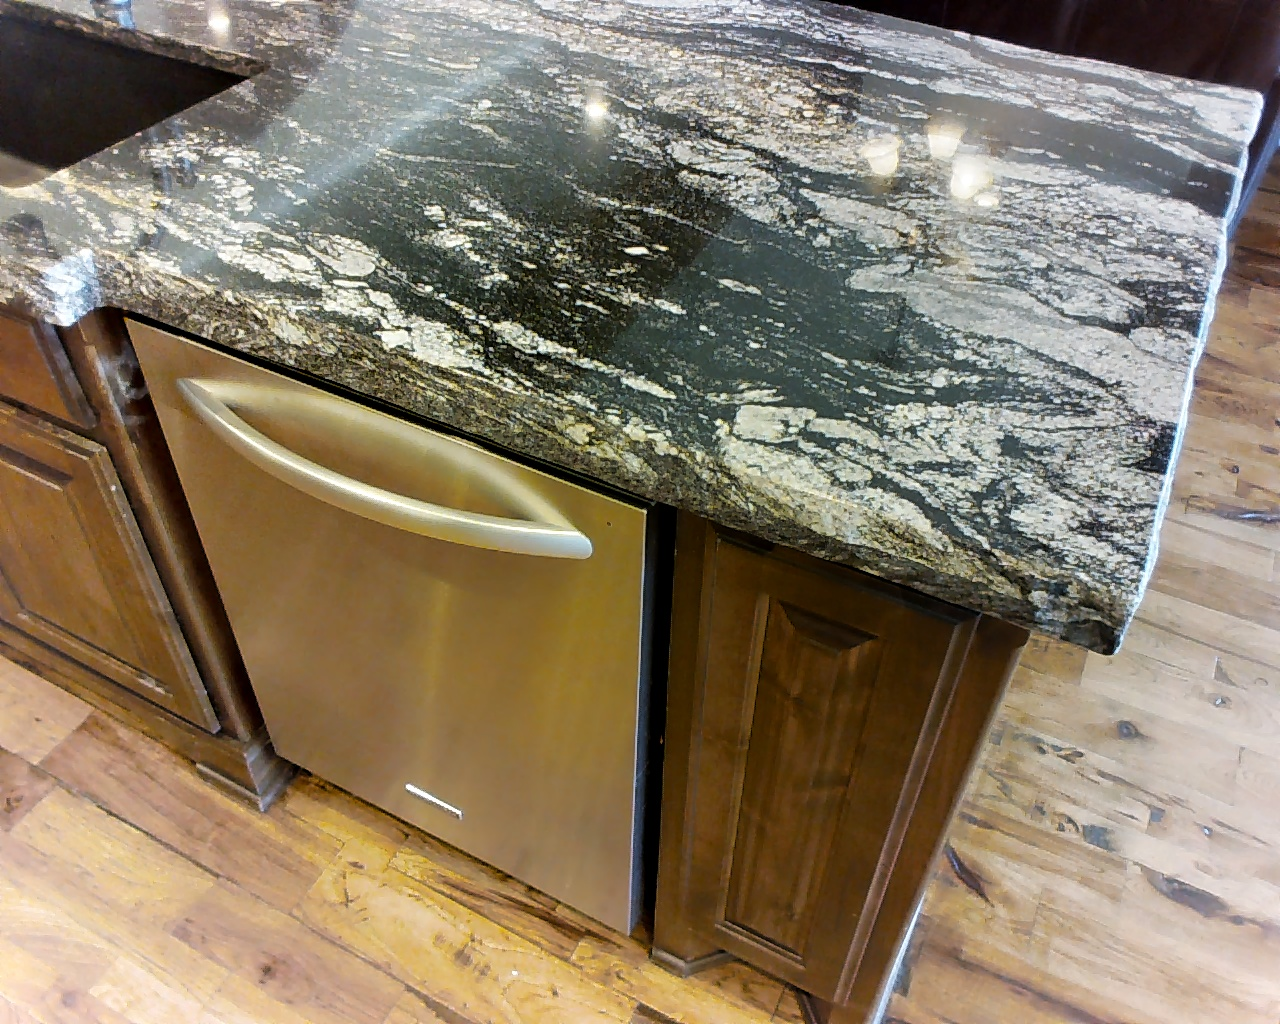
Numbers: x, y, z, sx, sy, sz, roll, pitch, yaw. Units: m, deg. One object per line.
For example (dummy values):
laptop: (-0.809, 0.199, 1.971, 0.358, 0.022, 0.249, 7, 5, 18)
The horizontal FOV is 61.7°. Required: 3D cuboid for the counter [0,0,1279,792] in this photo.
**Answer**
counter: (-0.760, -0.710, 1.580, 3.050, 0.180, 1.160, 20, 47, 19)
